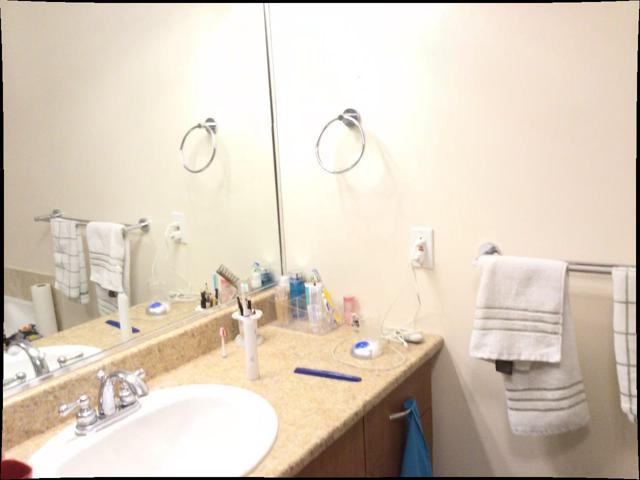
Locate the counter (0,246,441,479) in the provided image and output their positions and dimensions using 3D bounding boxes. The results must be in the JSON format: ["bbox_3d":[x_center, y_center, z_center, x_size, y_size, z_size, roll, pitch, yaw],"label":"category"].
[{"bbox_3d":[-0.390,0.330,1.170,0.740,0.230,1.570,6,15,32],"label":"counter"}]

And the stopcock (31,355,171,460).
[{"bbox_3d":[-0.450,0.340,1.210,0.110,0.090,0.250,6,15,32],"label":"stopcock"}]
